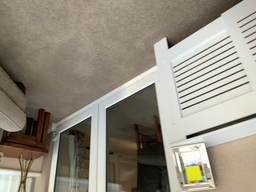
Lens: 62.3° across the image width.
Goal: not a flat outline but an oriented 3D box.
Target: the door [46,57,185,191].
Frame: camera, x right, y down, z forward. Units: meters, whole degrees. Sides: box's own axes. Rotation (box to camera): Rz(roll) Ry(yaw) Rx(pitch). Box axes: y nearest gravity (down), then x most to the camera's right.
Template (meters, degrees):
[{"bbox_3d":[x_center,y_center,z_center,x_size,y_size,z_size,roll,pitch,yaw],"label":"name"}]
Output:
[{"bbox_3d":[-0.240,0.910,1.810,1.550,2.180,0.140,-27,143,33],"label":"door"}]

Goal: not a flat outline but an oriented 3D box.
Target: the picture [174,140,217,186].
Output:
[{"bbox_3d":[0.360,0.360,1.150,0.200,0.220,0.080,-14,150,40],"label":"picture"}]
